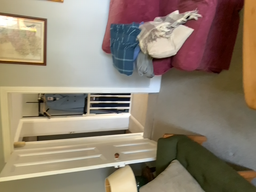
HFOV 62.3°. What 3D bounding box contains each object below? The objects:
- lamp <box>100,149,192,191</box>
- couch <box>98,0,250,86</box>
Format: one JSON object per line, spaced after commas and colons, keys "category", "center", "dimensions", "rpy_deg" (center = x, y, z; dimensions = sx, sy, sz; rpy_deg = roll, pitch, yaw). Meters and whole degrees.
{"category": "lamp", "center": [0.180, 0.880, 2.270], "dimensions": [0.370, 0.860, 0.390], "rpy_deg": [-138, 51, -62]}
{"category": "couch", "center": [0.330, -1.060, 1.890], "dimensions": [1.150, 0.850, 1.710], "rpy_deg": [-141, 54, -63]}
